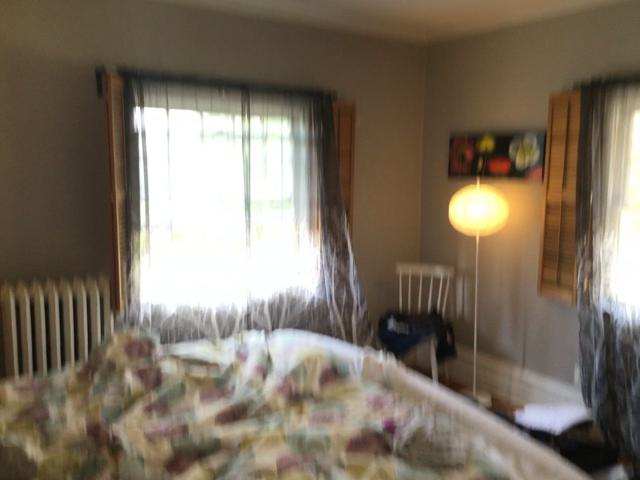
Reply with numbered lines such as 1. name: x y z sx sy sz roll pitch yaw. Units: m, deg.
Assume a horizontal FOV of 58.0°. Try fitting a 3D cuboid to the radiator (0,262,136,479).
1. radiator: -1.320 0.640 2.900 0.630 0.950 0.340 -6 10 -34
